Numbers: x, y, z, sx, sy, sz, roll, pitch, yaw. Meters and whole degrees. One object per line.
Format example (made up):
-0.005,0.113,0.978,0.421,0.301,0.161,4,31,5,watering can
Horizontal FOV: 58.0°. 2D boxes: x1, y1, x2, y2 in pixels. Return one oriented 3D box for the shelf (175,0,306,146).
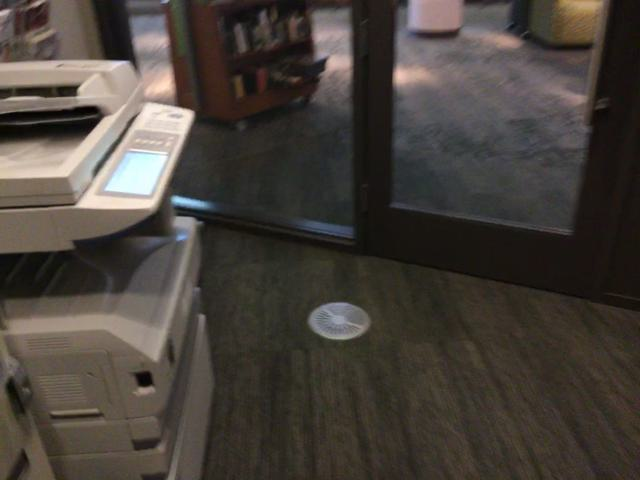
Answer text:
-0.470,-1.140,3.740,0.680,0.870,0.520,-5,30,0,shelf
